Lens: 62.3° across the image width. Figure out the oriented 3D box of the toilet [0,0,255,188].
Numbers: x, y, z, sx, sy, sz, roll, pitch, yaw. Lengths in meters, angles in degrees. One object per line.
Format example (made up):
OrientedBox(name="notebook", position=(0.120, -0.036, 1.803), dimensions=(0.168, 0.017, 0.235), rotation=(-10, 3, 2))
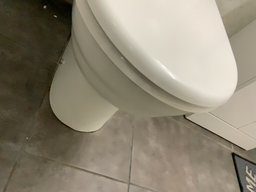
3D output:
OrientedBox(name="toilet", position=(0.090, -0.250, 0.530), dimensions=(0.390, 0.810, 0.670), rotation=(26, 46, -25))
